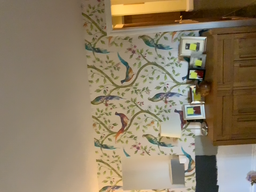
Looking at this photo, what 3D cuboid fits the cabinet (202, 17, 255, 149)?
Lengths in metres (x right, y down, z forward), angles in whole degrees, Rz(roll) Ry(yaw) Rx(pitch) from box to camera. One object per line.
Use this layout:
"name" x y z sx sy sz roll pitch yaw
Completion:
"cabinet" 1.420 -0.160 2.620 0.520 0.840 1.460 -83 -10 -80
